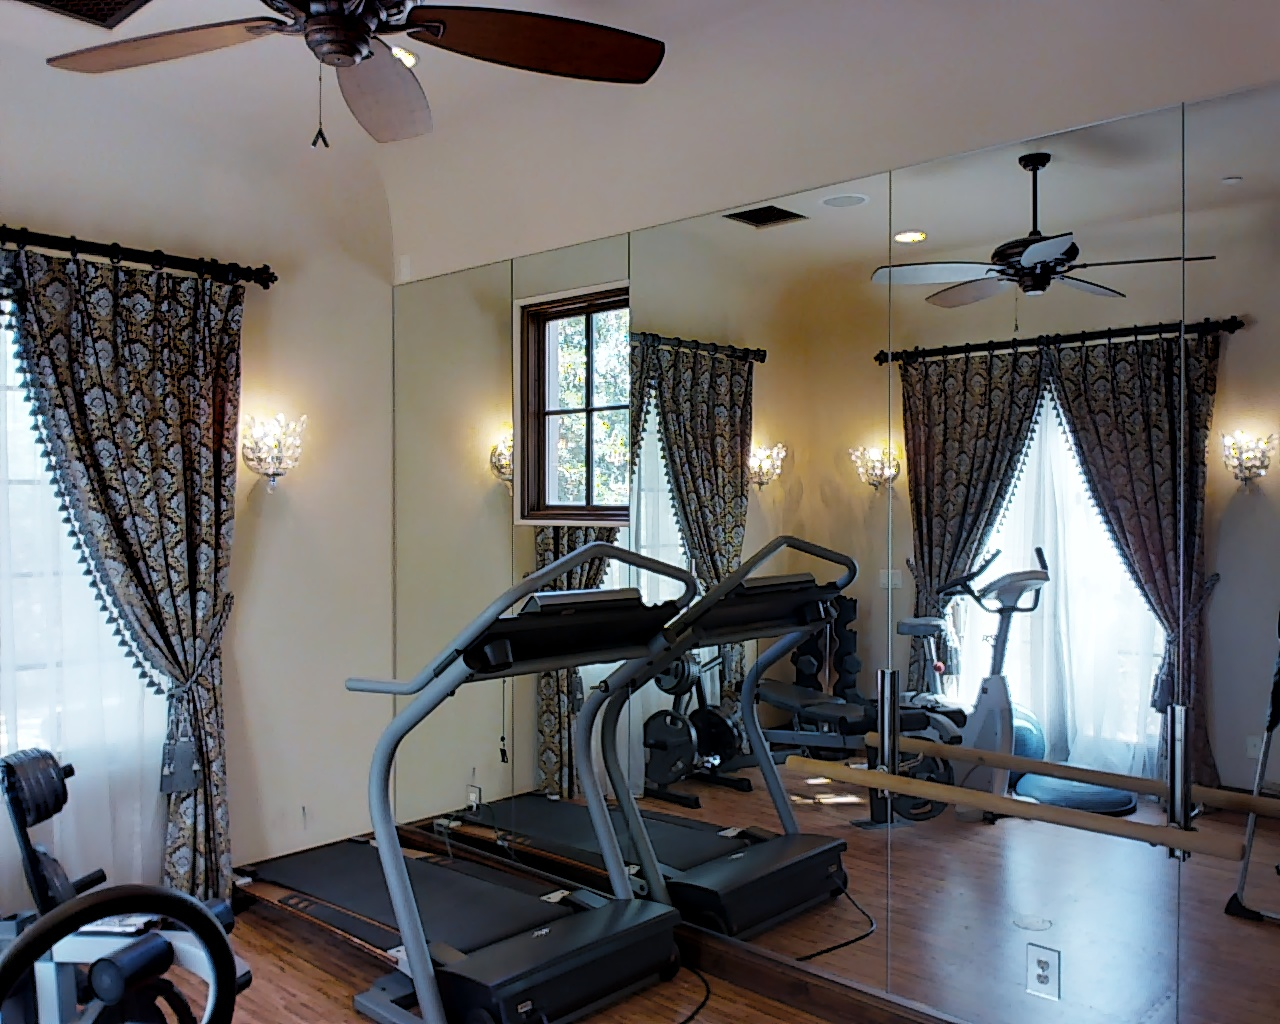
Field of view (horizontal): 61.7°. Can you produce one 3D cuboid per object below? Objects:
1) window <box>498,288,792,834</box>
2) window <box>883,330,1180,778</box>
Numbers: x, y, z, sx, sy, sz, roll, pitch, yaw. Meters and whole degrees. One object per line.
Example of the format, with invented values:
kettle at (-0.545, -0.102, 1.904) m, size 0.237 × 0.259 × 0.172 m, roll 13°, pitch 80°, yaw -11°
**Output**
window at (0.120, 0.240, 6.140) m, size 0.290 × 2.680 × 2.150 m, roll 0°, pitch 0°, yaw 44°
window at (2.250, 0.220, 6.320) m, size 1.640 × 2.350 × 0.360 m, roll 0°, pitch 0°, yaw 44°
